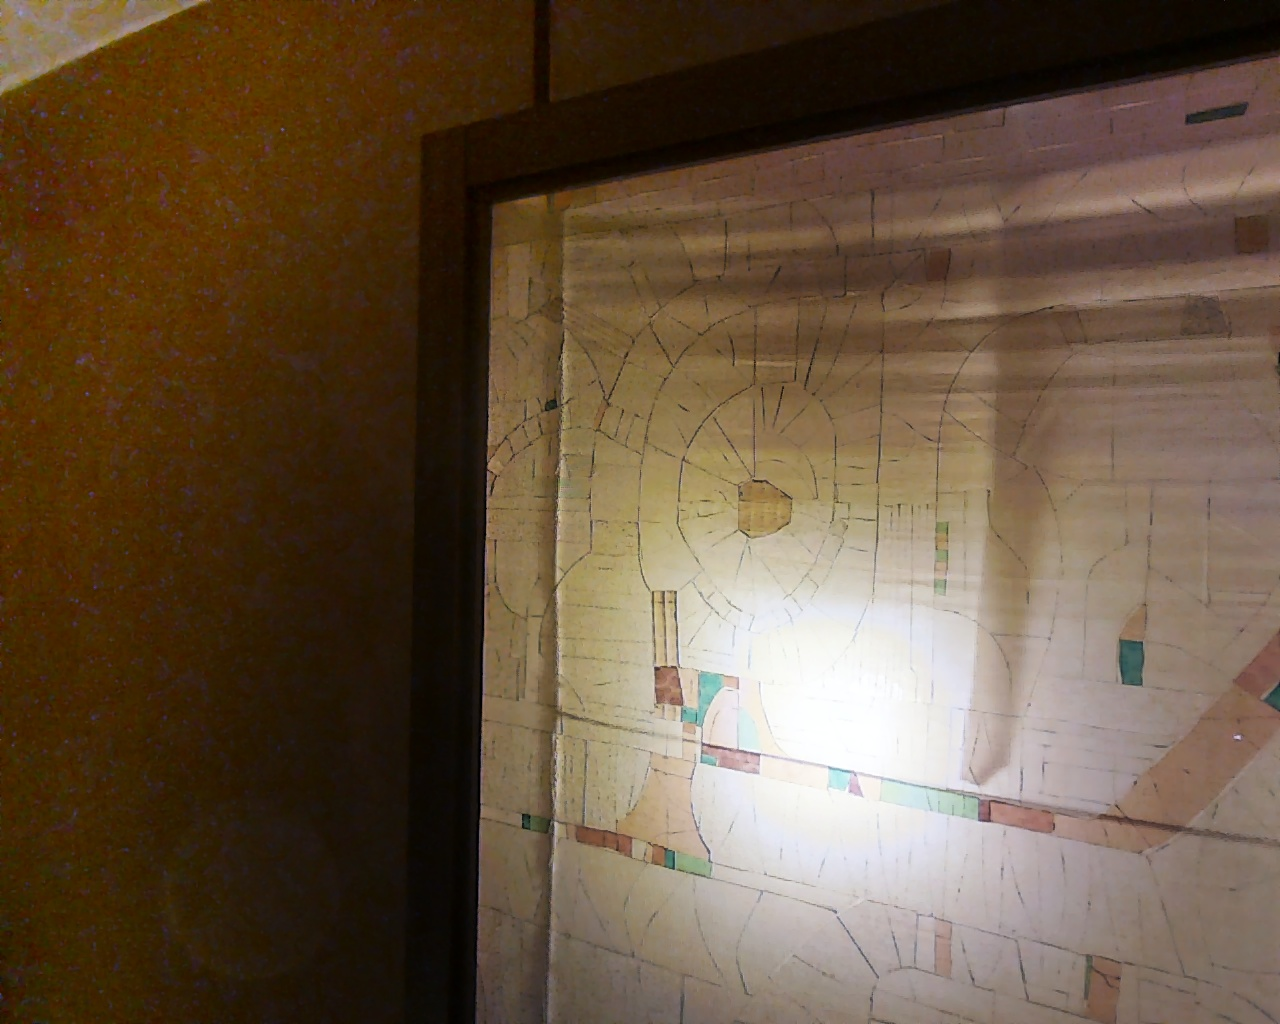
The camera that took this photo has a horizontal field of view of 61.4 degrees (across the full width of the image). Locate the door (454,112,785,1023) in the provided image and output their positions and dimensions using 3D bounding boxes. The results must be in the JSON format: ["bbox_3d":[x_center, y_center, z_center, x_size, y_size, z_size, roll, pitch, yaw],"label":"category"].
[{"bbox_3d":[-0.050,0.420,1.430,0.480,1.790,0.060,1,-1,36],"label":"door"}]
